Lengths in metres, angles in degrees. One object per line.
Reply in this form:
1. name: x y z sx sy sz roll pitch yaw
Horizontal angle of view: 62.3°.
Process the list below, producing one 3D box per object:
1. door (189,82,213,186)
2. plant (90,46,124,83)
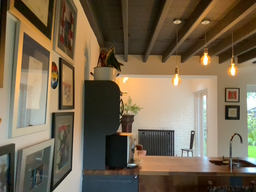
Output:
1. door: 1.840 0.860 5.480 0.080 2.230 1.780 0 -3 3
2. plant: -0.230 -0.350 2.460 0.370 0.360 0.340 1 -3 -2
